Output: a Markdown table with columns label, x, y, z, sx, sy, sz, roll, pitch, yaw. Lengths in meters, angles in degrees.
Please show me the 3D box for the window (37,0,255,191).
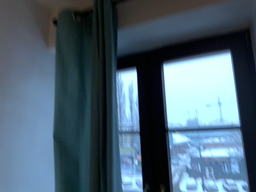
| label | x | y | z | sx | sy | sz | roll | pitch | yaw |
| --- | --- | --- | --- | --- | --- | --- | --- | --- | --- |
| window | 0.110 | 0.320 | 1.210 | 1.280 | 1.570 | 0.230 | -5 | -10 | 15 |
